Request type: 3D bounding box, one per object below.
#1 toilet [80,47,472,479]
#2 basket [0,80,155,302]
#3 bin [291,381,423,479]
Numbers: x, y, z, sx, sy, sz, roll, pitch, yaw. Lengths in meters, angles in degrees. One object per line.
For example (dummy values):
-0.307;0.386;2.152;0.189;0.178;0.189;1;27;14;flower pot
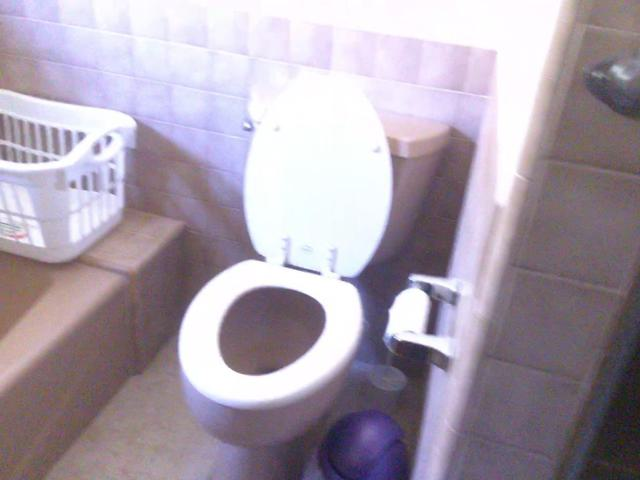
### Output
-0.030;0.130;1.290;0.510;0.890;0.730;12;31;11;toilet
-0.840;-0.170;1.520;0.640;0.360;0.420;12;31;11;basket
0.070;0.510;1.220;0.220;0.310;0.210;12;31;11;bin
